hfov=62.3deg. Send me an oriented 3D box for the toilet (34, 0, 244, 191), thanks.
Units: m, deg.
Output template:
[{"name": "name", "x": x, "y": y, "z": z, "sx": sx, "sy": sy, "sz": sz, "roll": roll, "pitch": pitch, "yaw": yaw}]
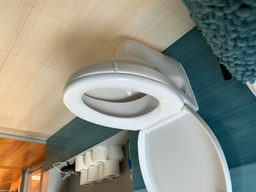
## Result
[{"name": "toilet", "x": 0.020, "y": 0.070, "z": 0.760, "sx": 0.510, "sy": 0.790, "sz": 0.370, "roll": 18, "pitch": 143, "yaw": -36}]
